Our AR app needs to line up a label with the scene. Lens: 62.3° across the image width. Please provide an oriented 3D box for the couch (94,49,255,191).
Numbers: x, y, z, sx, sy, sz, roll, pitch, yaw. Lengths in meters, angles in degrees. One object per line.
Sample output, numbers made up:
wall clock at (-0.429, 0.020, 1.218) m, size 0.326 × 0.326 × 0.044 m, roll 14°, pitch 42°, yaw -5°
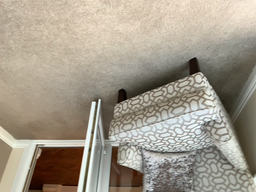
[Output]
couch at (0.380, 0.400, 1.570) m, size 0.790 × 0.890 × 0.880 m, roll -21°, pitch 138°, yaw 28°
